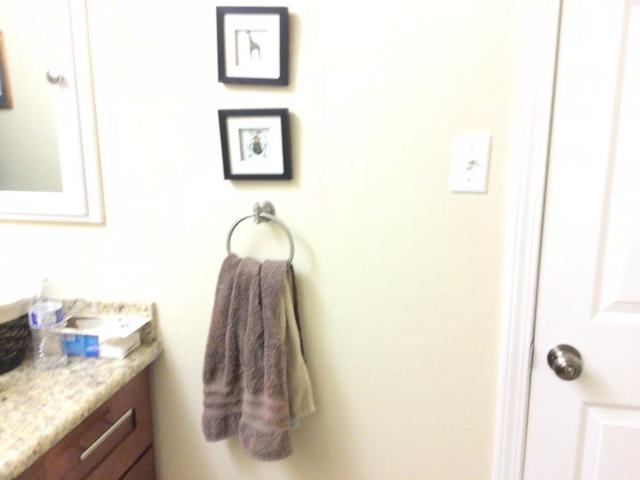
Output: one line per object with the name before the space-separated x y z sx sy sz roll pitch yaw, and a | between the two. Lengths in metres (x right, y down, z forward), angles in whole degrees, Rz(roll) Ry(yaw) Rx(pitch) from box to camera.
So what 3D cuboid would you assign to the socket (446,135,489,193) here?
socket | 0.290 -0.150 1.140 0.080 0.110 0.020 0 11 13
